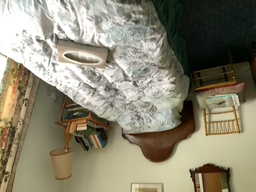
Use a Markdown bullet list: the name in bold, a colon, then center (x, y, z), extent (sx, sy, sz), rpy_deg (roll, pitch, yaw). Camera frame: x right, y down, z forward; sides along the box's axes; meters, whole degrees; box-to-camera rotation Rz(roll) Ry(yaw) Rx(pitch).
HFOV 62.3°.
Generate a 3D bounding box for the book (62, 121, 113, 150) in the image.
- **book**: center (-0.480, 0.500, 2.600), extent (0.440, 0.210, 0.430), rpy_deg (-9, 154, 19)

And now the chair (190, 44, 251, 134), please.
- **chair**: center (0.960, -0.060, 2.270), extent (0.420, 0.820, 0.400), rpy_deg (-10, 154, 20)
